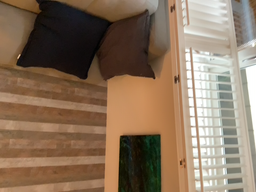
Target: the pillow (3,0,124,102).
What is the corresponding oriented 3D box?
[{"bbox_3d":[-0.470,-0.410,1.670,0.600,0.650,0.240,-55,-163,-29],"label":"pillow"}]
